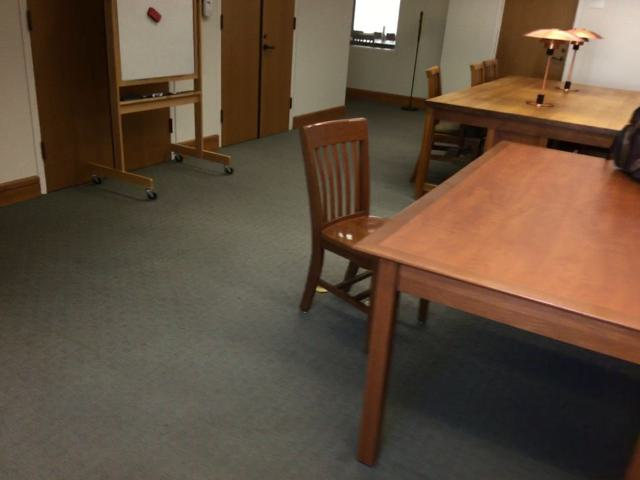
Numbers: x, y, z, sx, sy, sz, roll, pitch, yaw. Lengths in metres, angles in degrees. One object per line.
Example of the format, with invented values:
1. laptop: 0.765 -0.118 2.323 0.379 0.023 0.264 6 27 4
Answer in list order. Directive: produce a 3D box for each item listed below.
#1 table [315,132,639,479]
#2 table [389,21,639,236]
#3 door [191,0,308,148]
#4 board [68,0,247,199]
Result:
1. table: 0.870 0.170 2.220 0.930 0.900 1.790 15 20 27
2. table: 1.930 -1.080 4.960 1.570 1.190 2.720 15 20 27
3. door: -0.600 -1.950 5.340 0.210 2.030 1.440 15 20 27
4. board: -1.100 -1.300 4.070 0.610 1.780 1.060 15 20 27
